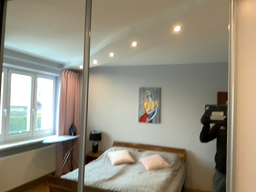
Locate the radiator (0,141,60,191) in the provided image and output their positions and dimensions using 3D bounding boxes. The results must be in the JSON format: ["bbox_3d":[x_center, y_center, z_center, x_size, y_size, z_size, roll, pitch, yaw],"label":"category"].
[{"bbox_3d":[-1.940,1.350,4.270,0.180,0.640,1.500,1,-2,19],"label":"radiator"}]
